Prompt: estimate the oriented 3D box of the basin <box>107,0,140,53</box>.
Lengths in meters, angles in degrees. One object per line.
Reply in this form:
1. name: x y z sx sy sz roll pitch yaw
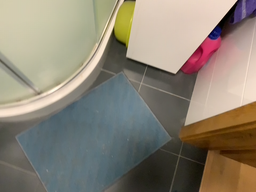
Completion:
1. basin: -0.030 -0.420 1.200 0.110 0.320 0.200 19 74 -1
